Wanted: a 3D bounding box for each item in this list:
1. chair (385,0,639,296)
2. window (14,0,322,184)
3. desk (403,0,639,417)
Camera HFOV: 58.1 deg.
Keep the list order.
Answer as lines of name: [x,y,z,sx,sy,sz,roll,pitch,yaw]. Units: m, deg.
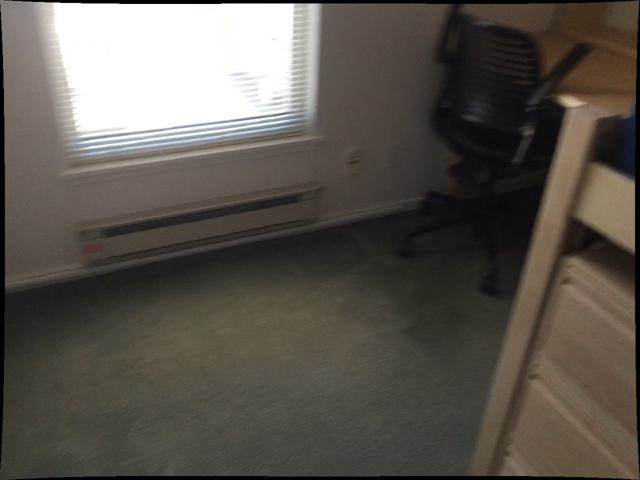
chair: [0.839,-0.421,2.300,0.829,0.911,0.650,-12,36,-23]
window: [-0.469,-0.681,1.930,0.949,0.851,0.190,-12,36,-23]
desk: [1.098,-0.531,1.980,0.859,1.582,1.280,-12,36,-23]
